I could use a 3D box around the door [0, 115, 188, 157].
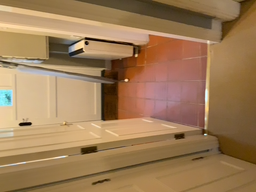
[{"bbox_3d":[-0.500,0.280,1.660,0.740,1.950,0.050,3,94,58],"label":"door"}]
